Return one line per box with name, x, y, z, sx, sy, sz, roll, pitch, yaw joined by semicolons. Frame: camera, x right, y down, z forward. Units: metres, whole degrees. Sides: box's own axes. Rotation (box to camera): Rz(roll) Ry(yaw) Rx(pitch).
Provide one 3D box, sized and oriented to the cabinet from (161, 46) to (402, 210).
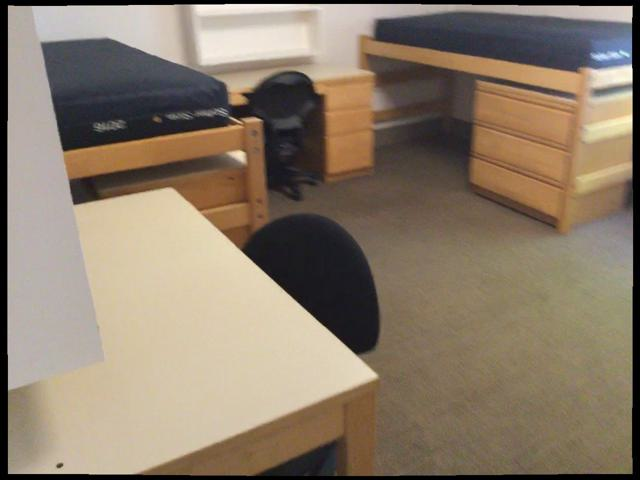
cabinet;-0.250;-0.872;4.180;1.498;0.801;0.750;-15;29;-25
